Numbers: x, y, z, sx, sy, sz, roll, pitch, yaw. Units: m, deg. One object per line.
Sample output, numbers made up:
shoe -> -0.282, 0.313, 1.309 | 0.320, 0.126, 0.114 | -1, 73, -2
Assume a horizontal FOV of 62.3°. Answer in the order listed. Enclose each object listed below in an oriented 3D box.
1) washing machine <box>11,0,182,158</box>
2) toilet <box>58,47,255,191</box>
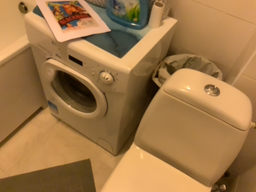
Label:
washing machine -> -0.140, -0.140, 1.180 | 0.520, 0.700, 0.520 | 28, 52, 14
toilet -> 0.100, 0.350, 0.790 | 0.370, 0.740, 0.650 | 28, 52, 14
